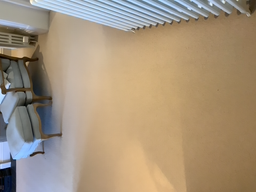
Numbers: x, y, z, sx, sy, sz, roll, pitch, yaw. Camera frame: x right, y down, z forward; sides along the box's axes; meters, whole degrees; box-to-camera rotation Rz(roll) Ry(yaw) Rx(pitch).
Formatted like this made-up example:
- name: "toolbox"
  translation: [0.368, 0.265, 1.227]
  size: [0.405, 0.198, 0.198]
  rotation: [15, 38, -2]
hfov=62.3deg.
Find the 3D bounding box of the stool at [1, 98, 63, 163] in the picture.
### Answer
- name: "stool"
  translation: [-1.320, 0.460, 2.860]
  size: [0.770, 0.470, 0.540]
  rotation: [-42, 62, 38]
